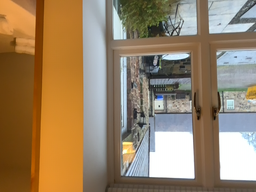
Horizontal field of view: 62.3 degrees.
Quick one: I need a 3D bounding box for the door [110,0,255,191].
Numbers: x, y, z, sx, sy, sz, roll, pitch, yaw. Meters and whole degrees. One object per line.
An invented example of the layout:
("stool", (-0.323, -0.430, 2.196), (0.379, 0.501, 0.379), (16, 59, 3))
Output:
("door", (0.450, -0.460, 1.360), (1.120, 2.140, 0.130), (-1, 177, 6))
